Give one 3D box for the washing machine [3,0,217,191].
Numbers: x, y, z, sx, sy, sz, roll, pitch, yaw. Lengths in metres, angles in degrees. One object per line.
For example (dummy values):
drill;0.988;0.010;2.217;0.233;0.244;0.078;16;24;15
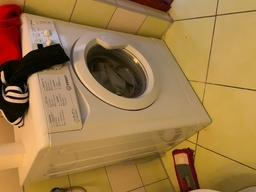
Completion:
washing machine;-0.120;0.000;1.100;0.500;0.830;0.620;-48;54;42
